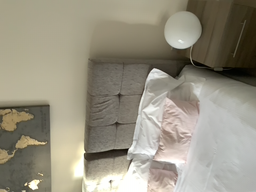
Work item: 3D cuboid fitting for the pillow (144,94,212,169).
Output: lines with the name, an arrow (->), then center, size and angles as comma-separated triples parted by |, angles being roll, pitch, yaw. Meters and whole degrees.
pillow -> 0.370, 0.280, 1.610 | 0.530, 0.260, 0.150 | -65, 30, 15

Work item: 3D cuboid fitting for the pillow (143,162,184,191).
pillow -> 0.290, 0.860, 1.850 | 0.130, 0.290, 0.520 | -144, 55, -62

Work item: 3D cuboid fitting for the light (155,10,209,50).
light -> 0.360, -0.460, 1.470 | 0.250, 0.220, 0.230 | -137, 49, -59
